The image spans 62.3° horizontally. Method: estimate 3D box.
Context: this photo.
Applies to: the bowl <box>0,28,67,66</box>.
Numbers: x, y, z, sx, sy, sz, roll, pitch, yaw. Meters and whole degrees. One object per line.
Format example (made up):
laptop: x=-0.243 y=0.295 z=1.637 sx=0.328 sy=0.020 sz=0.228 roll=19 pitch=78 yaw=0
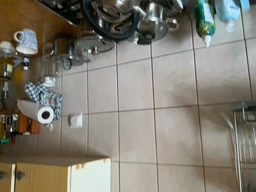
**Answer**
bowl: x=-0.570 y=-0.270 z=1.230 sx=0.310 sy=0.070 sz=0.270 roll=-6 pitch=169 yaw=30
